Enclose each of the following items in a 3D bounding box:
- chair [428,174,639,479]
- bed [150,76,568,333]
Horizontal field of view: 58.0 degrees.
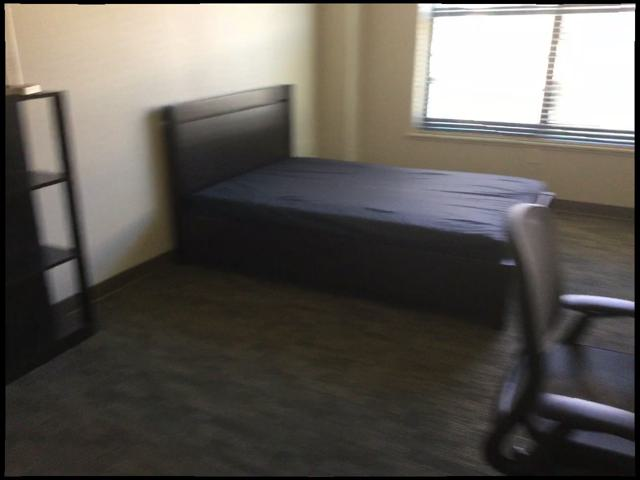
[{"bbox_3d":[0.689,0.421,1.510,0.589,0.982,0.720,10,24,28],"label":"chair"},{"bbox_3d":[0.299,-0.441,3.790,2.157,1.042,1.530,10,24,28],"label":"bed"}]
